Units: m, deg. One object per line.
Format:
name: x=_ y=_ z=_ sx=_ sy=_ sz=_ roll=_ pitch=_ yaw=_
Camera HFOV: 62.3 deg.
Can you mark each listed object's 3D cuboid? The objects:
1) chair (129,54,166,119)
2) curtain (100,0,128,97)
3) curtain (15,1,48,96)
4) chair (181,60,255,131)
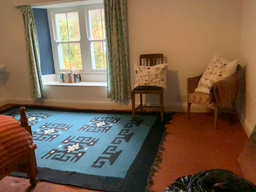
chair: x=0.320 y=-0.170 z=3.250 sx=0.450 sy=0.900 sz=0.510 roll=1 pitch=14 yaw=16
curtain: x=-0.210 y=-0.760 z=3.470 sx=0.320 sy=1.570 sz=0.160 roll=1 pitch=14 yaw=17
curtain: x=-1.750 y=-0.830 z=3.890 sx=0.270 sy=1.640 sz=0.190 roll=2 pitch=14 yaw=18
chair: x=1.220 y=-0.060 z=2.880 sx=0.680 sy=0.760 sz=0.740 roll=-6 pitch=14 yaw=-14
